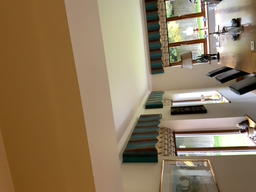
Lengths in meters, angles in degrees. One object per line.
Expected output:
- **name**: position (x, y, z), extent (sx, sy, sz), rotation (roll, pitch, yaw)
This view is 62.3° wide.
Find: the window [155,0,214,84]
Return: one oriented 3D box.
- **window**: position (1.450, -1.360, 5.450), extent (0.140, 1.310, 1.970), rotation (-48, -48, -74)
